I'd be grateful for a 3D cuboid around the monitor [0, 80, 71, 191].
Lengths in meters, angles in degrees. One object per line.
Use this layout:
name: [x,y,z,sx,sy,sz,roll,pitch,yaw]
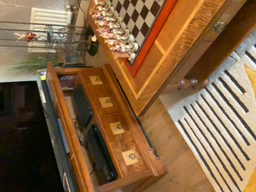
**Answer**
monitor: [-0.880,0.380,1.500,0.080,0.720,1.180,-57,50,44]
